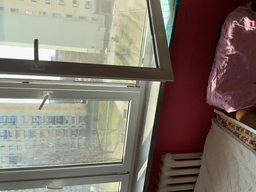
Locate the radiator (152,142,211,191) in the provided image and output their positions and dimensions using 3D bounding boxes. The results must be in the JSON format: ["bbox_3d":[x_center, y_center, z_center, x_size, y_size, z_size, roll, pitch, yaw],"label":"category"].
[{"bbox_3d":[0.420,0.880,1.870,0.170,0.370,0.950,-131,45,-67],"label":"radiator"}]
